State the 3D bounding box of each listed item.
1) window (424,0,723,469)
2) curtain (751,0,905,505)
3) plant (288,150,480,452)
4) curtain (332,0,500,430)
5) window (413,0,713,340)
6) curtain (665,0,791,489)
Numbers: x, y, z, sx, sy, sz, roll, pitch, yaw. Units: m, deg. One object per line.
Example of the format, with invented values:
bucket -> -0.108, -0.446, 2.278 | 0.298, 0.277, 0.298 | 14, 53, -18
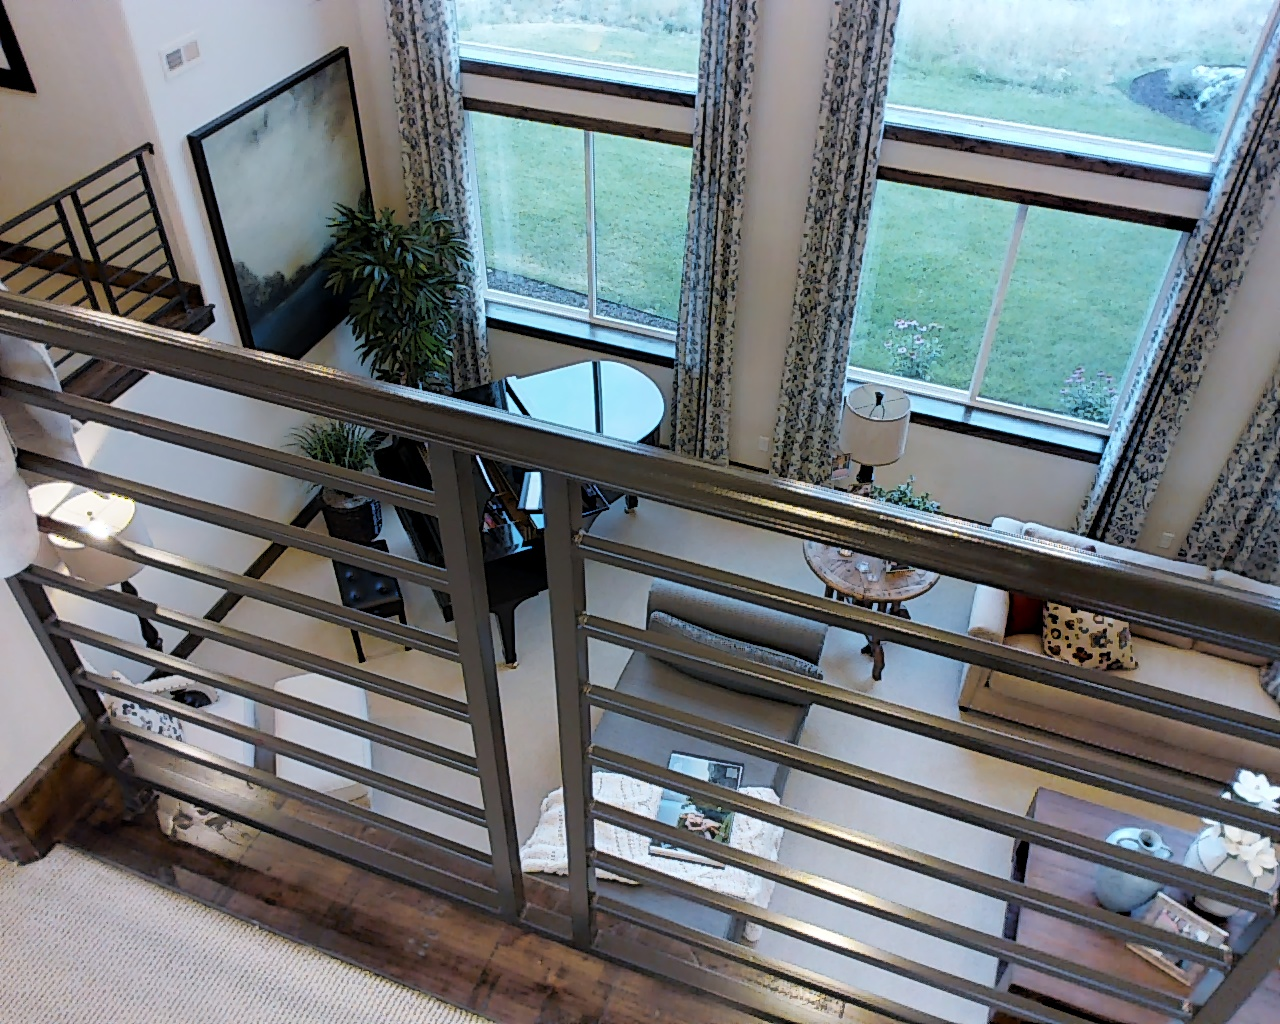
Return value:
window -> -0.400, -2.150, 6.640 | 1.660, 4.100, 0.380 | 14, 44, 14
curtain -> 1.060, -1.790, 6.050 | 0.470, 4.380, 0.180 | 14, 44, 14
plant -> -1.570, -1.320, 6.830 | 0.670, 1.620, 0.770 | 16, 44, 16
curtain -> -1.420, -2.570, 6.600 | 0.720, 4.800, 0.250 | 14, 44, 15
window -> -0.460, -2.600, 6.130 | 1.740, 3.280, 0.160 | 14, 44, 14
curtain -> 0.490, -1.900, 6.210 | 0.520, 4.330, 0.190 | 15, 44, 15
